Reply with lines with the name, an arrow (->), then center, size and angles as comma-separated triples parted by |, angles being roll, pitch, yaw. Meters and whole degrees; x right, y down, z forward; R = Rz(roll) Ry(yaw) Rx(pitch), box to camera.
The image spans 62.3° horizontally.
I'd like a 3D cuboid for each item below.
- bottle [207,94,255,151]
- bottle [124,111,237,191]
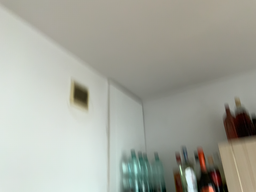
bottle -> 0.810, 0.210, 1.590 | 0.310, 0.320, 0.210 | -18, -30, 27
bottle -> 0.360, 0.490, 1.520 | 0.620, 0.520, 0.430 | -18, -30, 28
